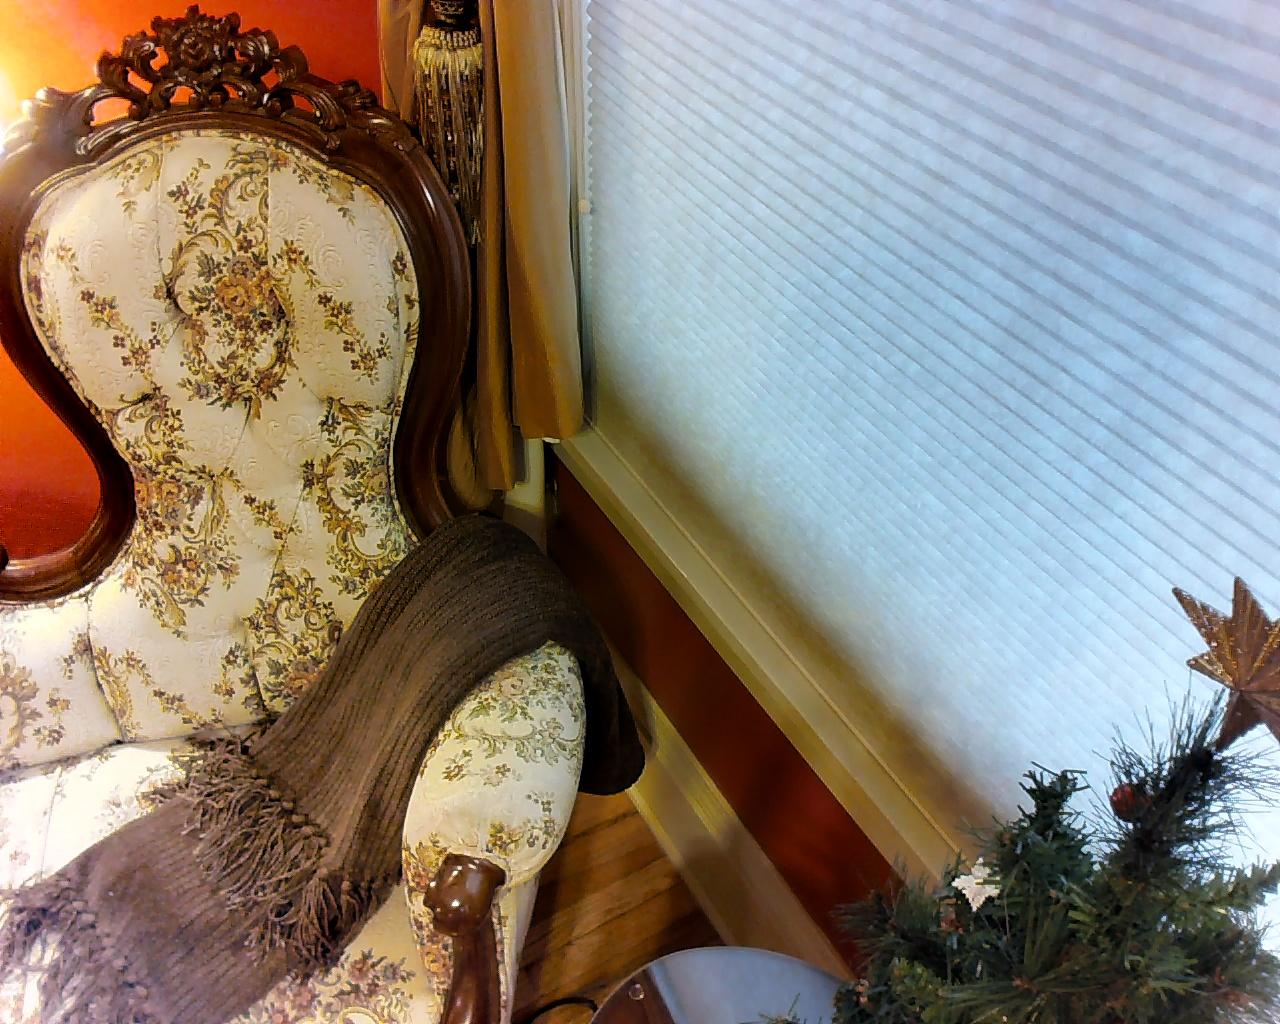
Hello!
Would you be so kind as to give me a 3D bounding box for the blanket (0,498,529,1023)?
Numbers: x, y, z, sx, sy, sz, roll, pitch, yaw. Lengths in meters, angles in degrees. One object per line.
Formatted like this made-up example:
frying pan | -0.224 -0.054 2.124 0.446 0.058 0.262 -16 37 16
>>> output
blanket | -0.450 0.300 1.210 0.570 0.320 0.290 -30 51 -29
